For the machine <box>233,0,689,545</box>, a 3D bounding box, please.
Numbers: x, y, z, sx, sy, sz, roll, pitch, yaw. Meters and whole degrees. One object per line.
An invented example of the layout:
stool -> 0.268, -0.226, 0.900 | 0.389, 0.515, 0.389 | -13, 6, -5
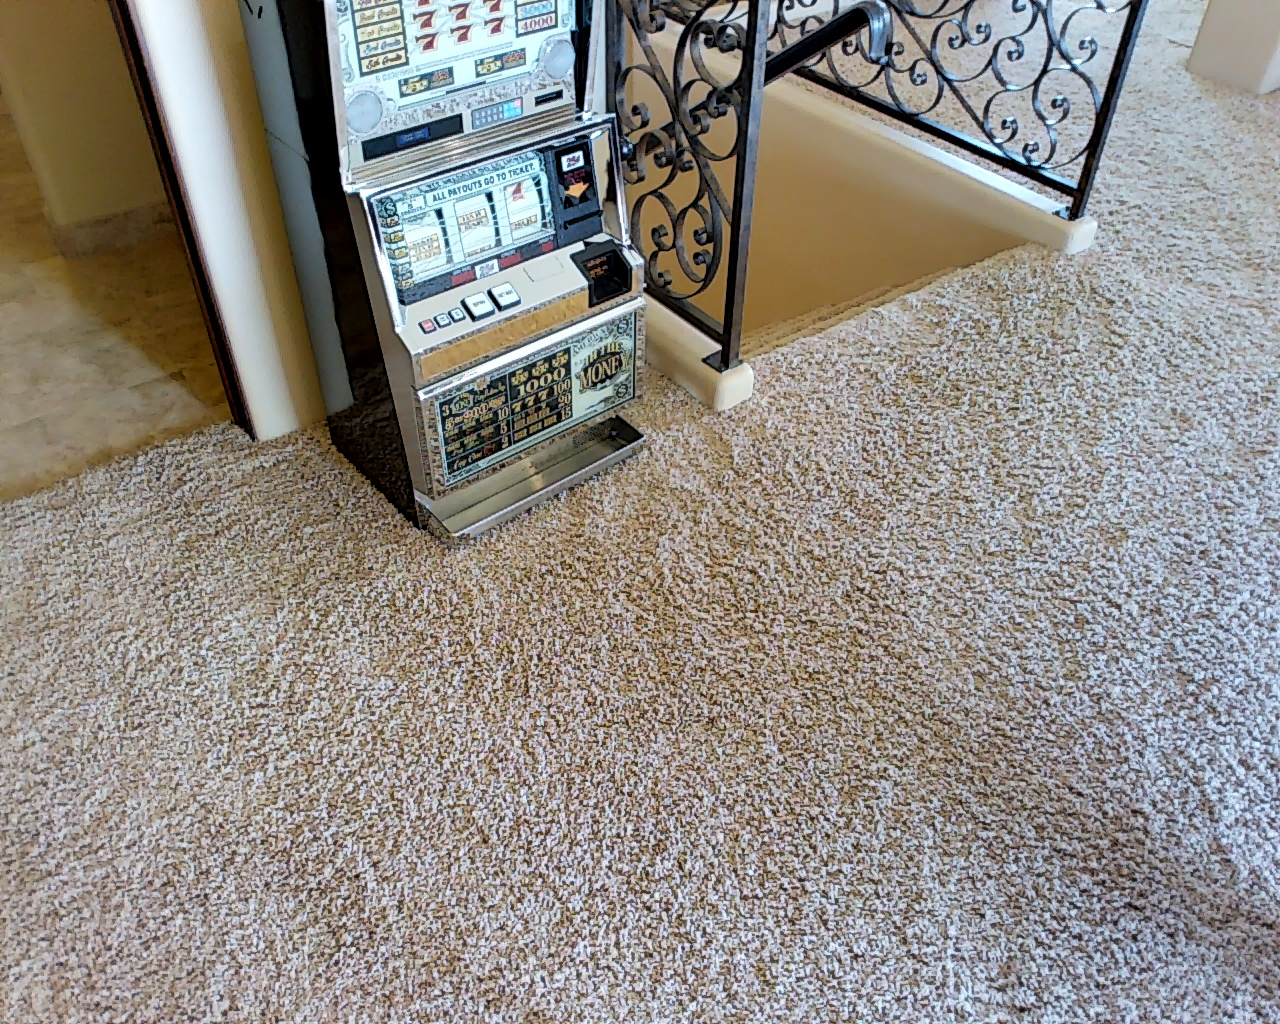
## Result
machine -> -0.330, -0.640, 2.090 | 0.580, 1.170, 0.590 | -25, 48, -26
